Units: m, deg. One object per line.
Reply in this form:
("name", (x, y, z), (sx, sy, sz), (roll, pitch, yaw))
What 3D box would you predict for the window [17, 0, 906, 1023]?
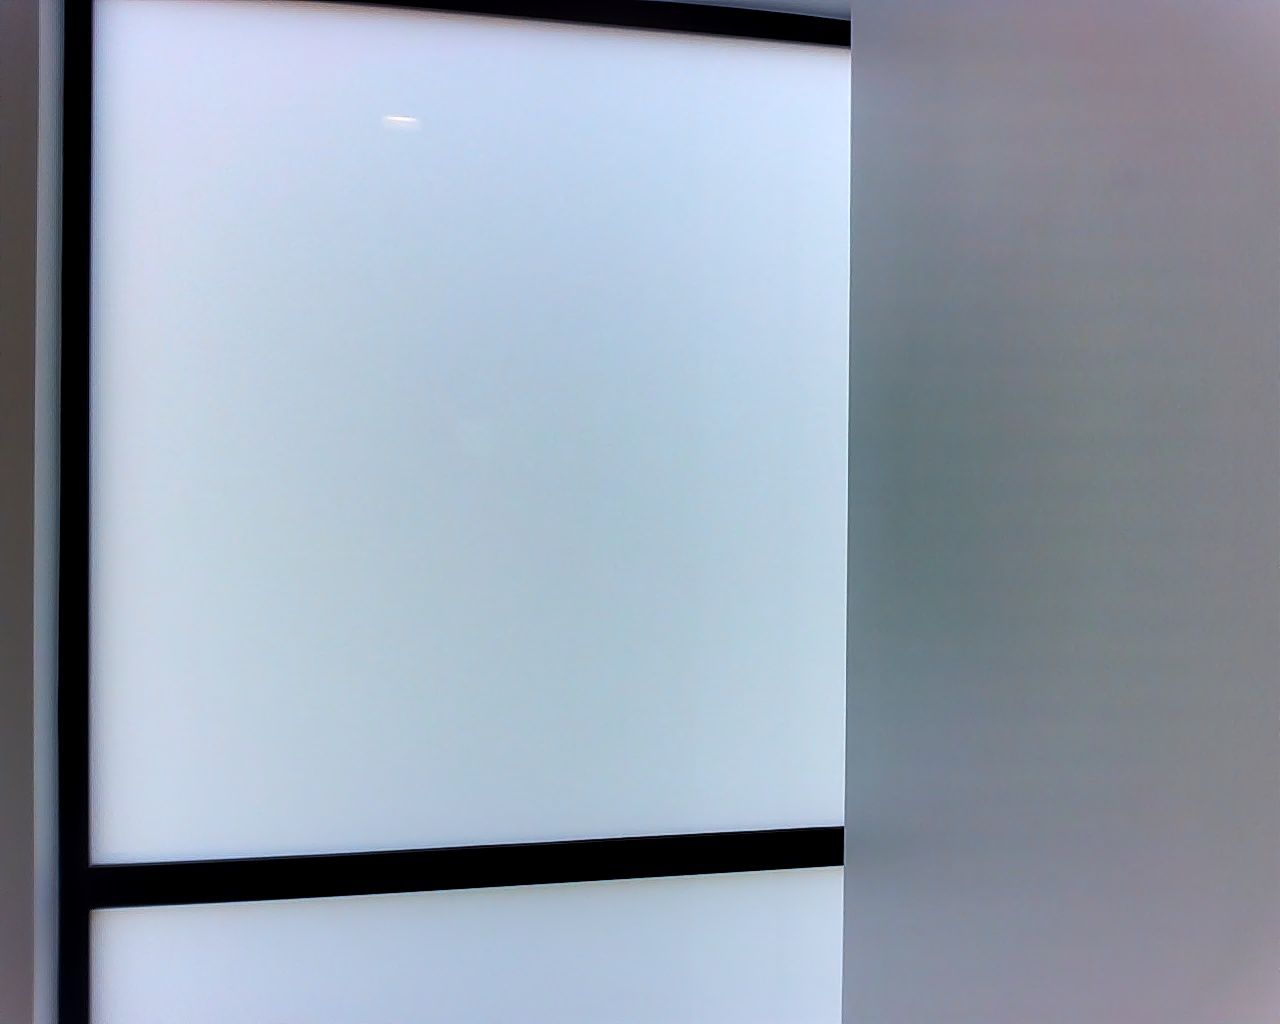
("window", (-0.210, 0.320, 1.510), (1.140, 2.130, 0.190), (0, 1, -12))
